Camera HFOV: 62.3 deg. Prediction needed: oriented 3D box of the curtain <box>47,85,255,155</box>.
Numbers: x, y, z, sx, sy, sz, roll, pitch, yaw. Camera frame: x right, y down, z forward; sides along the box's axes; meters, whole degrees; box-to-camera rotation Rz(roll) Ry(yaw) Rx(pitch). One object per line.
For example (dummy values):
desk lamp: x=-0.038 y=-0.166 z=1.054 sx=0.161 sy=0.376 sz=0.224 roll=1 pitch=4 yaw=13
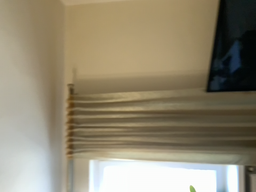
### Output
curtain: x=0.540 y=0.230 z=2.050 sx=0.230 sy=2.640 sz=0.610 roll=42 pitch=-133 yaw=-81

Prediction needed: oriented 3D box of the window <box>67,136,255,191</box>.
window: x=0.320 y=1.470 z=2.290 sx=0.270 sy=1.920 sz=2.030 roll=20 pitch=-111 yaw=-83
